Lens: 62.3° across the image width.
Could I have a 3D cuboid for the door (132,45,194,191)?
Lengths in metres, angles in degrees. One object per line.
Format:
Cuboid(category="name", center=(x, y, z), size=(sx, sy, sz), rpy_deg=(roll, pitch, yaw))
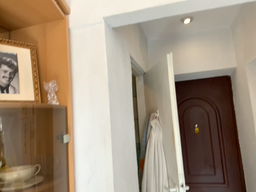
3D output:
Cuboid(category="door", center=(0.260, 0.750, 1.740), size=(0.070, 2.070, 0.940), rpy_deg=(-1, -8, -16))
